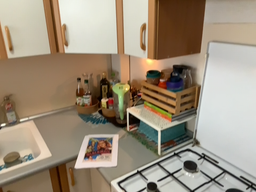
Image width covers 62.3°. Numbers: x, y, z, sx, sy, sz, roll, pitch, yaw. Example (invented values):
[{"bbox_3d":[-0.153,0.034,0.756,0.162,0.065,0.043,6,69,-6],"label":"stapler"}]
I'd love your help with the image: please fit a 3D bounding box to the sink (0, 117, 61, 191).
[{"bbox_3d":[-0.700,0.370,1.260,0.410,0.220,0.500,-15,25,-32],"label":"sink"}]
